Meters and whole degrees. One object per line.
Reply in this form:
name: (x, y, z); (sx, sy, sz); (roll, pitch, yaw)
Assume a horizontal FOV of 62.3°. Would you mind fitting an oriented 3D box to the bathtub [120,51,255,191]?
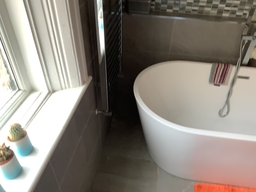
bathtub: (0.860, 0.210, 1.610); (1.700, 0.580, 0.850); (8, 40, 6)
